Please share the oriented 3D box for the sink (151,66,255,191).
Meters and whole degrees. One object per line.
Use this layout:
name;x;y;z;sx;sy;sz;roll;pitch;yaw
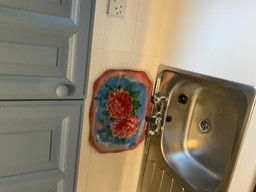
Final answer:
sink;0.330;0.130;0.930;0.400;0.180;0.450;28;114;55
